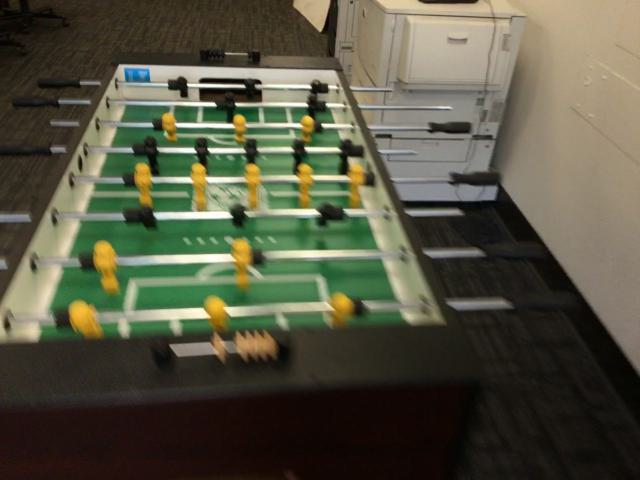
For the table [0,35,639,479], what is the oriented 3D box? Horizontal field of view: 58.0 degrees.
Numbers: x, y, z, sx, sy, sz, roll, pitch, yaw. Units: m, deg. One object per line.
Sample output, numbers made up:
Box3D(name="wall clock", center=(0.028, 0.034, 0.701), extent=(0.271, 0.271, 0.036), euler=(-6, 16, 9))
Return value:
Box3D(name="table", center=(-0.240, 0.170, 1.540), extent=(1.240, 0.950, 1.390), euler=(-1, 37, -6))
